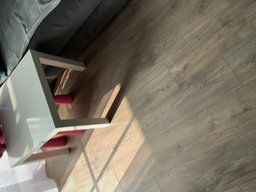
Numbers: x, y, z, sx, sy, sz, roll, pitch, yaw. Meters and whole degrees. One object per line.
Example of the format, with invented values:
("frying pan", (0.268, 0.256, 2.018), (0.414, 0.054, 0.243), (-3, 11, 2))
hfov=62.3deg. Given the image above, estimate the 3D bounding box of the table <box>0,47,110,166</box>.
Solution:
("table", (-0.590, 0.100, 1.550), (0.640, 0.460, 0.550), (-30, 71, 29))
